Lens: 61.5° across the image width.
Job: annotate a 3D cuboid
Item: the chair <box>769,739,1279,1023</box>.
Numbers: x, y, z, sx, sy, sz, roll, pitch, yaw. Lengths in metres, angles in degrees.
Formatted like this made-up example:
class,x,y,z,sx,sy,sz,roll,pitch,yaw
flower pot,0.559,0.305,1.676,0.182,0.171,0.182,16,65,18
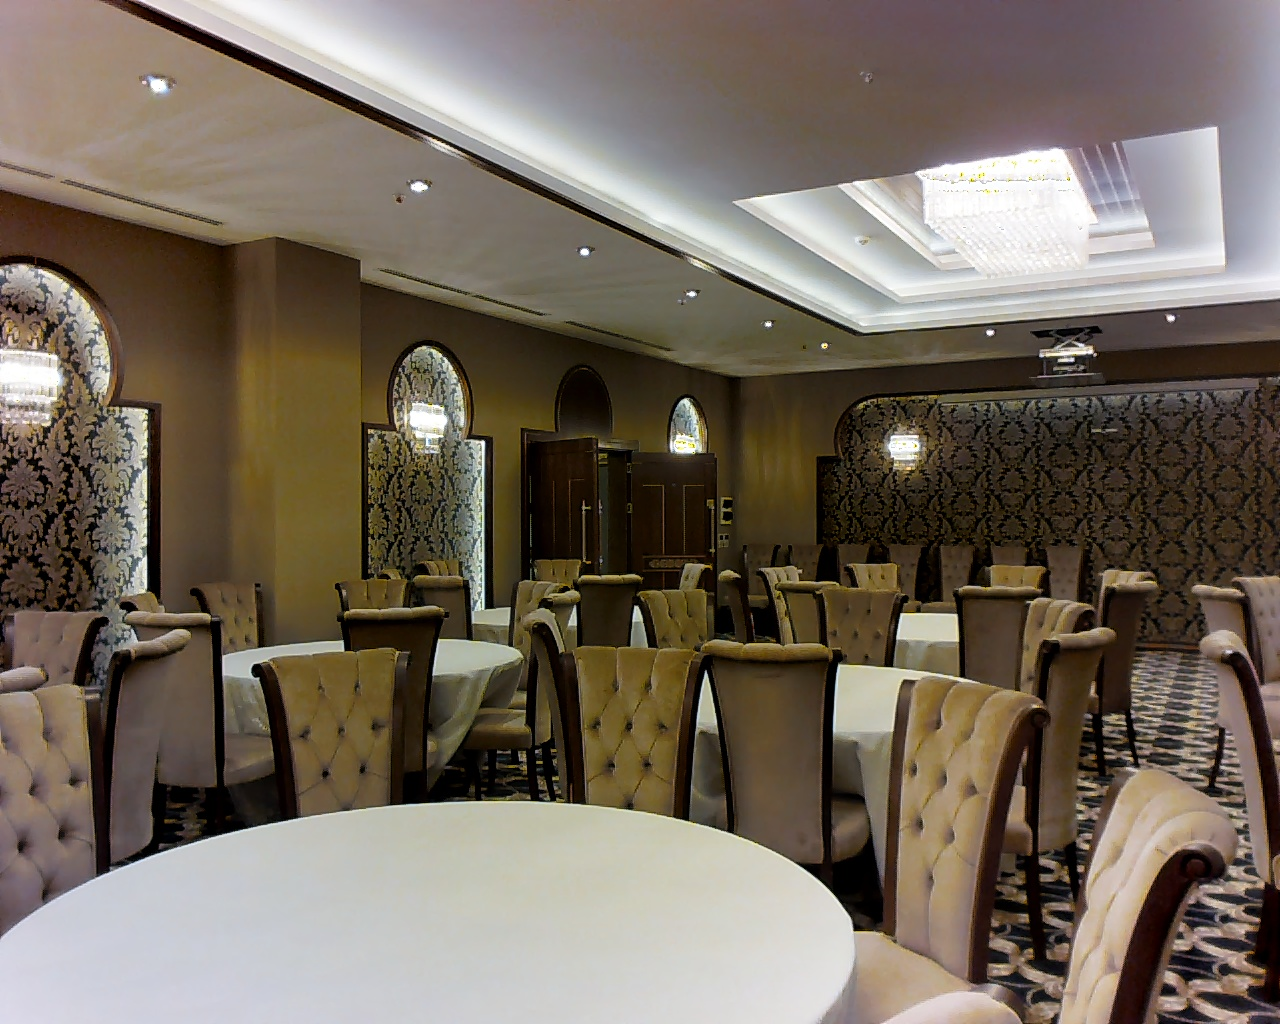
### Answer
class,x,y,z,sx,sy,sz,roll,pitch,yaw
chair,0.610,0.970,1.740,0.670,1.040,0.590,0,0,21

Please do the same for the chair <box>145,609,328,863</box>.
class,x,y,z,sx,sy,sz,roll,pitch,yaw
chair,-1.819,0.970,4.870,0.540,0.990,0.560,0,0,31

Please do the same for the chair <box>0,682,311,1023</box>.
class,x,y,z,sx,sy,sz,roll,pitch,yaw
chair,-1.249,1.000,2.550,0.650,1.060,0.620,0,0,25

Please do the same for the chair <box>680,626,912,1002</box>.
class,x,y,z,sx,sy,sz,roll,pitch,yaw
chair,0.570,0.990,3.810,0.600,1.080,0.700,0,0,29

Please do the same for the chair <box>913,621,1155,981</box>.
class,x,y,z,sx,sy,sz,roll,pitch,yaw
chair,1.429,0.980,3.910,0.620,1.080,0.590,0,0,-38

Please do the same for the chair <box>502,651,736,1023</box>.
class,x,y,z,sx,sy,sz,roll,pitch,yaw
chair,-0.030,1.000,3.170,0.580,1.080,0.680,0,0,9

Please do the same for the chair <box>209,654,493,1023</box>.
class,x,y,z,sx,sy,sz,roll,pitch,yaw
chair,-0.810,1.000,3.050,0.690,1.080,0.710,0,0,-15

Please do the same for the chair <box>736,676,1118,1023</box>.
class,x,y,z,sx,sy,sz,roll,pitch,yaw
chair,0.650,0.990,2.530,0.640,1.090,0.590,0,0,-23
